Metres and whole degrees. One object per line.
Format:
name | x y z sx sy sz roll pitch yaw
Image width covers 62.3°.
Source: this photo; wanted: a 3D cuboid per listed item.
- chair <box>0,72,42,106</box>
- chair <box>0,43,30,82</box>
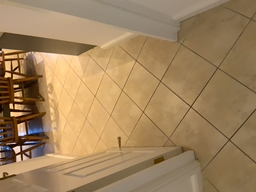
chair | -1.810 -0.090 3.190 0.500 0.800 0.440 -7 87 45
chair | -2.180 -0.540 3.490 0.500 0.860 0.550 -7 88 44
